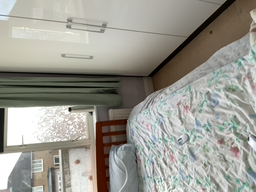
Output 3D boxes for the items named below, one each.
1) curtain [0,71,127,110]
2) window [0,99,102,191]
[{"bbox_3d":[-0.950,-0.060,2.410,0.160,1.910,0.380,139,127,-60],"label":"curtain"},{"bbox_3d":[-1.020,0.780,2.320,0.070,1.430,1.520,138,127,-60],"label":"window"}]
